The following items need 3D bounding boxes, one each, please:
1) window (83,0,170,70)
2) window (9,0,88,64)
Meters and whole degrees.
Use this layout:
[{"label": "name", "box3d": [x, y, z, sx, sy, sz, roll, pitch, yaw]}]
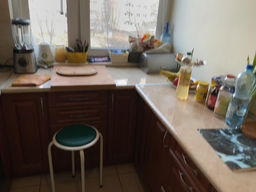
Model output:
[{"label": "window", "box3d": [-0.010, -0.960, 2.020, 0.810, 1.410, 0.190, -2, 24, -15]}, {"label": "window", "box3d": [-0.660, -0.950, 1.760, 0.610, 1.340, 0.160, -4, 25, -19]}]
